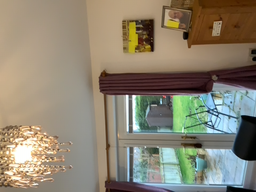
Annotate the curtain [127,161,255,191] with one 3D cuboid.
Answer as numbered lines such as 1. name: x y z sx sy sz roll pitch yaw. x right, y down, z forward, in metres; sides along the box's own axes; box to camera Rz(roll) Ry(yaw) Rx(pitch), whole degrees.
1. curtain: 0.960 1.320 3.110 0.430 1.910 0.500 -78 -12 -73

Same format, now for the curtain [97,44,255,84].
1. curtain: 0.780 -0.370 2.500 0.360 2.220 0.290 85 -174 -56
